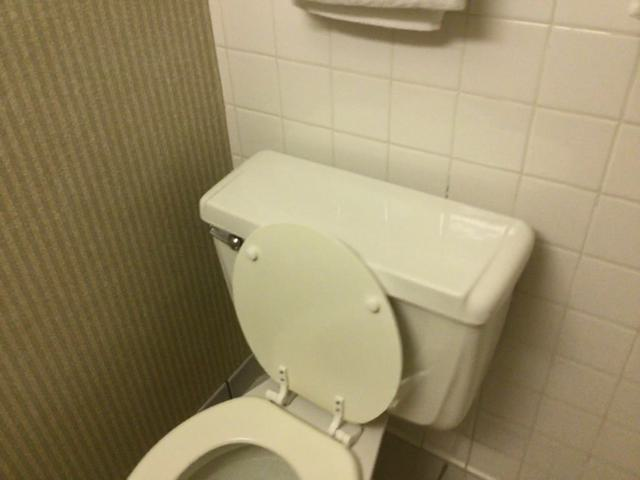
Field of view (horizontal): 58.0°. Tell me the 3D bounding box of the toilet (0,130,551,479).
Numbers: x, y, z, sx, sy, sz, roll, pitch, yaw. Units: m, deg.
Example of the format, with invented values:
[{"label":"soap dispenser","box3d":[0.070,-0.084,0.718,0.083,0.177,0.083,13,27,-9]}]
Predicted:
[{"label":"toilet","box3d":[-0.040,0.340,0.950,0.530,0.740,0.680,17,41,27]}]
